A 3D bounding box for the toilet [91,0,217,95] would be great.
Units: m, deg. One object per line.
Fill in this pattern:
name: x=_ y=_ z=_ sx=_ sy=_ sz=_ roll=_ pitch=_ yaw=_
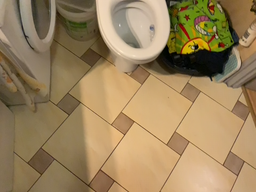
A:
toilet: x=0.020 y=-0.480 z=1.080 sx=0.370 sy=0.820 sz=0.650 roll=-8 pitch=70 yaw=-9
